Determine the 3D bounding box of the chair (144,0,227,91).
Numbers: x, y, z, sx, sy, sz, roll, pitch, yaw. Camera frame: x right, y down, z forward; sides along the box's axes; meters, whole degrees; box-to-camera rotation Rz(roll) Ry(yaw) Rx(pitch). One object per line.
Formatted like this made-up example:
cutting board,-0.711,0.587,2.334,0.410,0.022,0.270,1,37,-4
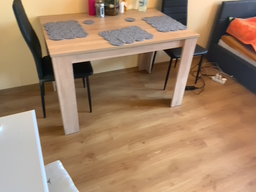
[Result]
chair,0.580,-0.640,2.410,0.500,0.970,0.530,-12,41,-20
